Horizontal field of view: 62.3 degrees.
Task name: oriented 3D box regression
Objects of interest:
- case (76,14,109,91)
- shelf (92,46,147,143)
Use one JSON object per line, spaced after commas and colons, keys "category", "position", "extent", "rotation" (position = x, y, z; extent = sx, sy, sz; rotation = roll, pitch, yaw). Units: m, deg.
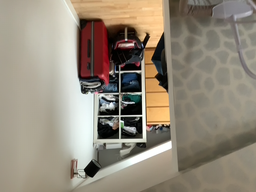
{"category": "case", "position": [-0.430, -0.520, 2.710], "extent": [0.300, 0.810, 0.540], "rotation": [-2, 170, 2]}
{"category": "shelf", "position": [-0.130, -0.010, 3.470], "extent": [0.800, 1.480, 0.490], "rotation": [-2, 170, 3]}
